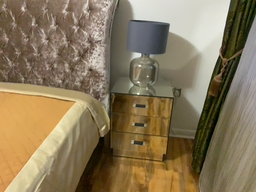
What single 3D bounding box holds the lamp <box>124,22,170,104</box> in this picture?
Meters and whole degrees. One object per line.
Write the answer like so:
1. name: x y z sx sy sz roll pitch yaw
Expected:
1. lamp: 0.150 -0.280 1.740 0.290 0.590 0.320 6 23 6
